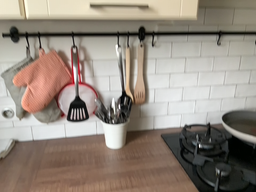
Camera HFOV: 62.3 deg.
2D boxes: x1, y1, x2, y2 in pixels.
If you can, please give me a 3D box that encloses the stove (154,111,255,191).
[{"bbox_3d":[0.490,0.220,0.900,0.600,0.050,0.570,-3,19,-11],"label":"stove"}]
